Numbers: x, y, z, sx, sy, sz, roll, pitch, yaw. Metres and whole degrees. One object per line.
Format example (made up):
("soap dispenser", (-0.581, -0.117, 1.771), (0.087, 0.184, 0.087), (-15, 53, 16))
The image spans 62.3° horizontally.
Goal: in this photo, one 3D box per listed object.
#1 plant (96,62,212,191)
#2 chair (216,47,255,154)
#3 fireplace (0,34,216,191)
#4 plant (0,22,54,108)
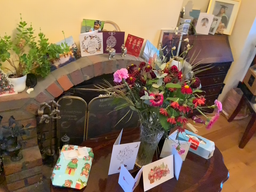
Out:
("plant", (0.090, 0.170, 1.130), (0.350, 0.570, 0.370), (-10, 36, -32))
("chair", (1.460, 0.070, 2.220), (0.600, 0.910, 0.610), (11, 30, 1))
("fireplace", (-0.240, 0.070, 1.690), (1.540, 0.900, 0.730), (-10, 36, -31))
("plant", (-0.660, -0.200, 1.270), (0.330, 0.400, 0.300), (-11, 36, -33))
